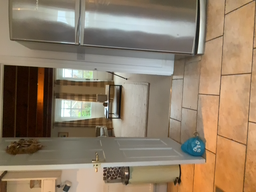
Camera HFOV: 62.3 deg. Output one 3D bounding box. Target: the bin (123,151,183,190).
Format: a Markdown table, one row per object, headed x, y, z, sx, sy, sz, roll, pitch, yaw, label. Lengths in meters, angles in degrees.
| x | y | z | sx | sy | sz | roll | pitch | yaw | label |
| --- | --- | --- | --- | --- | --- | --- | --- | --- | --- |
| 0.270 | 0.850 | 2.480 | 0.380 | 0.590 | 0.290 | -162 | 74 | -77 | bin |
